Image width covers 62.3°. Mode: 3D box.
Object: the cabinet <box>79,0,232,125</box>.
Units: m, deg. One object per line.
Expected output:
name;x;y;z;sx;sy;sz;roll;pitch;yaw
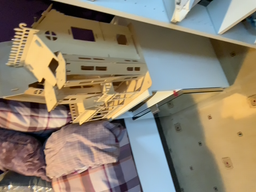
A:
cabinet;0.120;-0.160;1.130;0.440;0.550;0.460;-35;66;51

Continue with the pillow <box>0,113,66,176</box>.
pillow;-0.660;0.300;1.180;0.450;0.460;0.190;87;163;-75
